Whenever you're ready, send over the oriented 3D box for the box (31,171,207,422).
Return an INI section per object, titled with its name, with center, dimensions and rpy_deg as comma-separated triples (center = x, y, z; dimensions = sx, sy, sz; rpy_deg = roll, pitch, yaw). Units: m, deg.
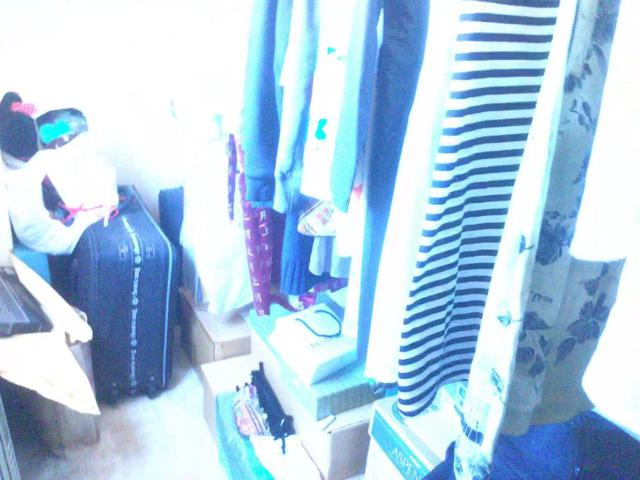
[box]
center = -0.770, 0.150, 2.180
dimensions = 0.420, 0.610, 0.760
rpy_deg = -10, 25, -30
